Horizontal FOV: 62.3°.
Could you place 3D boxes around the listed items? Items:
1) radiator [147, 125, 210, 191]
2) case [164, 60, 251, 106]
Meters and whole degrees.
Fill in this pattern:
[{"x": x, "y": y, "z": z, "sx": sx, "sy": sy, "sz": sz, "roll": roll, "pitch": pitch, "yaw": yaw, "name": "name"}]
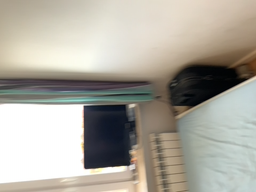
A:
[{"x": 0.520, "y": 0.710, "z": 2.180, "sx": 0.110, "sy": 0.570, "sz": 0.800, "roll": 139, "pitch": 129, "yaw": -67, "name": "radiator"}, {"x": 0.730, "y": -0.100, "z": 2.040, "sx": 0.500, "sy": 0.570, "sz": 0.250, "roll": 132, "pitch": 136, "yaw": -64, "name": "case"}]
